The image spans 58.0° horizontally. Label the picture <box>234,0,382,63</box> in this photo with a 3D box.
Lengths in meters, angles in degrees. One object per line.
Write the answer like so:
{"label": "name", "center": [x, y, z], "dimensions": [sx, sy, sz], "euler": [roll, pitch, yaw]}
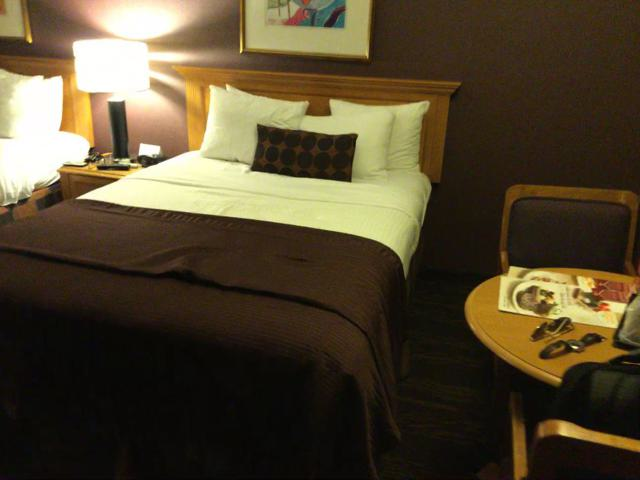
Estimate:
{"label": "picture", "center": [-0.060, -1.400, 2.970], "dimensions": [0.770, 0.890, 0.100], "euler": [8, 20, 13]}

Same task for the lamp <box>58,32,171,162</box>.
{"label": "lamp", "center": [-1.150, -0.830, 3.310], "dimensions": [0.400, 0.650, 0.440], "euler": [8, 20, 13]}
